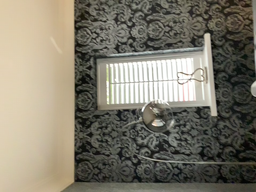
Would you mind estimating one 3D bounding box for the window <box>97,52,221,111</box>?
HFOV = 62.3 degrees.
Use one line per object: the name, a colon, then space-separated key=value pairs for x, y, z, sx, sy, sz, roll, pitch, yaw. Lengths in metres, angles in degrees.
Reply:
window: x=0.290 y=-0.140 z=2.220 sx=0.060 sy=1.250 sz=0.560 roll=37 pitch=-129 yaw=-80
